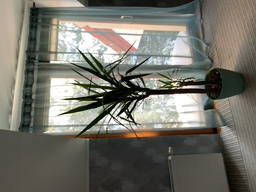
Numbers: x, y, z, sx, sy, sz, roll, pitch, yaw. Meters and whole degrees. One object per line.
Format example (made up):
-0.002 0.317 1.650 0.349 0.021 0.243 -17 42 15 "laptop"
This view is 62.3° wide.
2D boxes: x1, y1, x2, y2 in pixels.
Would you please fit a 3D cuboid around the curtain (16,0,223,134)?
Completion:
-0.070 -0.420 2.750 0.280 2.330 1.680 119 149 -70 "curtain"
